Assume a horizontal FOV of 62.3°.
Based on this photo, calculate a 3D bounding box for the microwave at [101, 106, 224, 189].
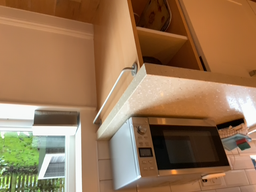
[{"bbox_3d":[0.130,0.260,1.040,0.430,0.270,0.360,3,149,-21],"label":"microwave"}]
